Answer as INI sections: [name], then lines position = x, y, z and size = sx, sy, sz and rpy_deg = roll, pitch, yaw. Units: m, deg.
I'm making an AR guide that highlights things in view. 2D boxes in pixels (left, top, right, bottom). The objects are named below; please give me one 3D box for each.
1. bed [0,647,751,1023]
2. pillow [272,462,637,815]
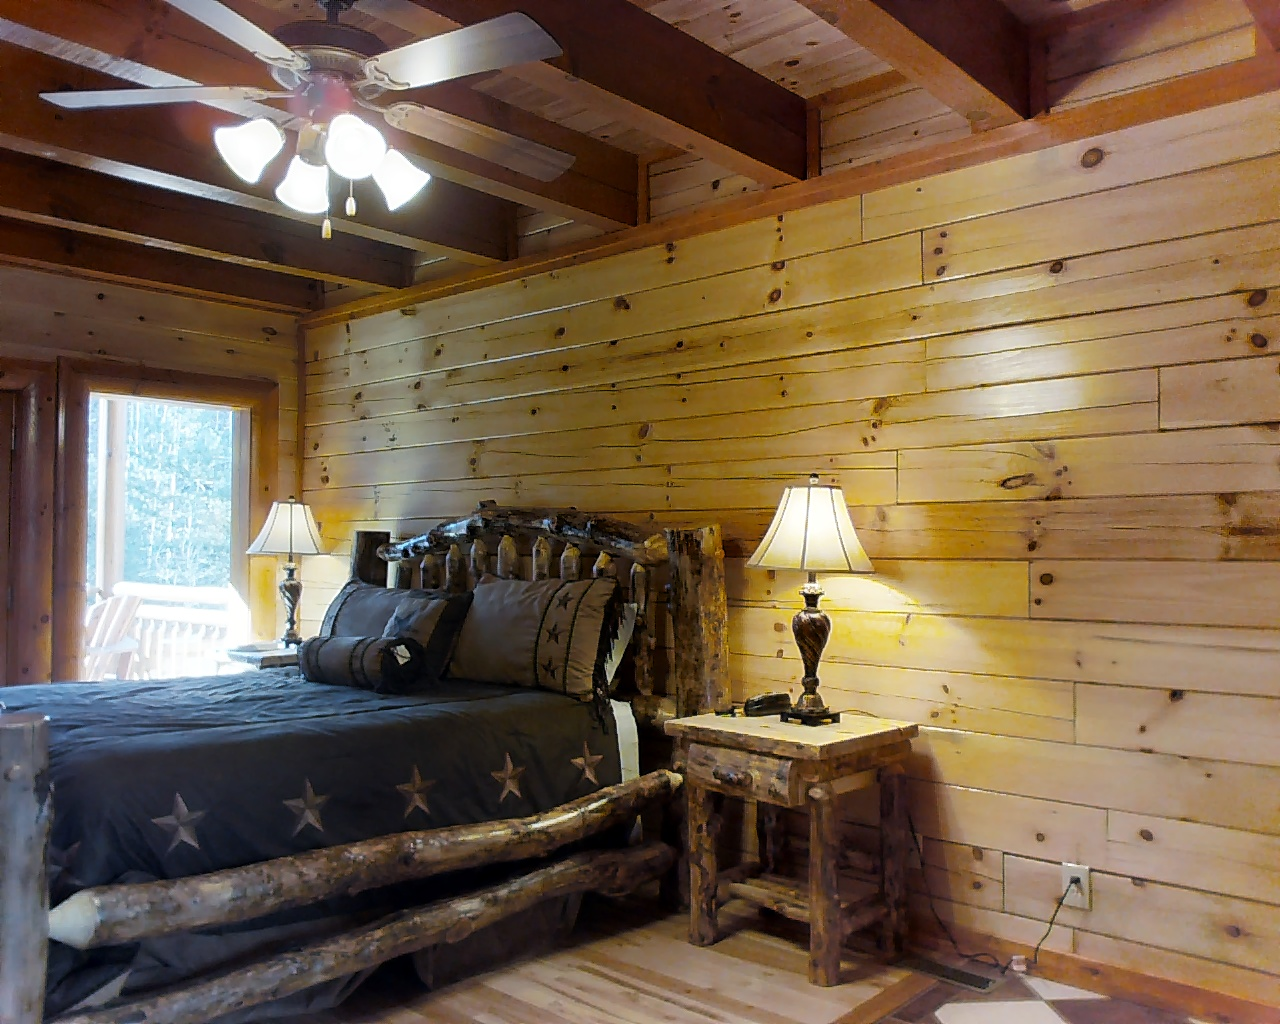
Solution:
[bed]
position = -1.330, 1.030, 3.850
size = 2.410, 0.760, 2.490
rpy_deg = -1, -2, 44
[pillow]
position = -0.850, 0.430, 4.440
size = 1.870, 0.550, 0.360
rpy_deg = 32, 20, 37
